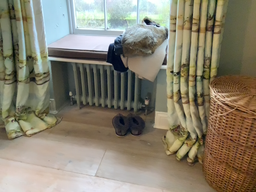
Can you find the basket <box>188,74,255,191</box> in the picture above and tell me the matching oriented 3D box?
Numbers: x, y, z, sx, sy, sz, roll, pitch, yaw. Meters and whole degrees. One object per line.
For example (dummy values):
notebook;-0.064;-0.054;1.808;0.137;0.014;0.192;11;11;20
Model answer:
basket;0.600;0.230;1.160;0.440;0.550;0.420;7;28;11
